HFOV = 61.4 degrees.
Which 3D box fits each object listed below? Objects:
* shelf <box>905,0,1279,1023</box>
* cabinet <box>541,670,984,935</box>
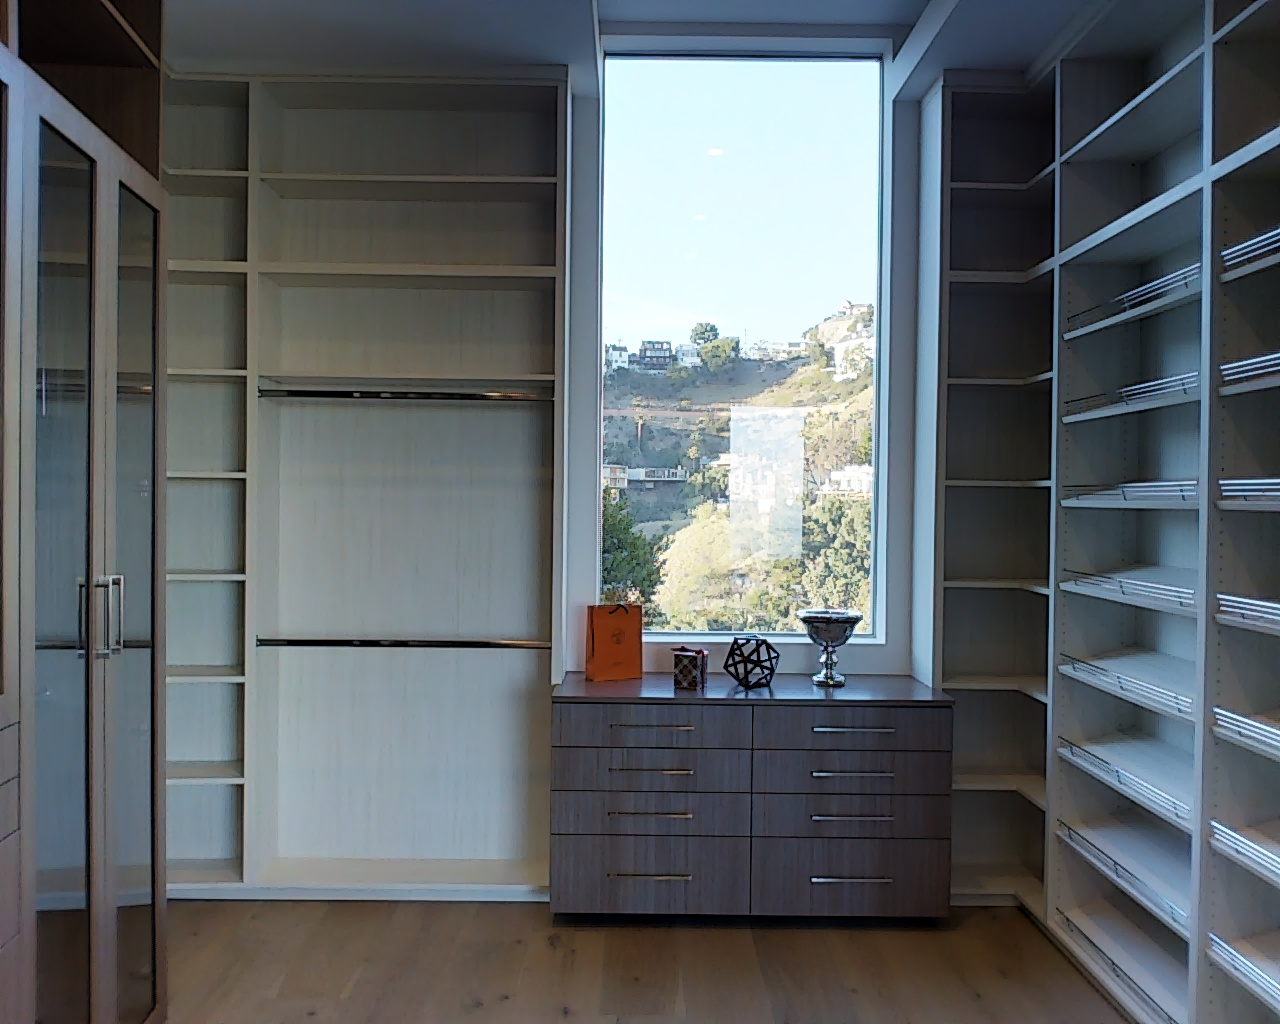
[{"bbox_3d":[1.390,-0.050,3.130,0.720,3.120,1.910,0,1,-1],"label":"shelf"},{"bbox_3d":[0.430,1.040,3.910,1.550,0.890,0.250,0,1,-1],"label":"cabinet"}]
